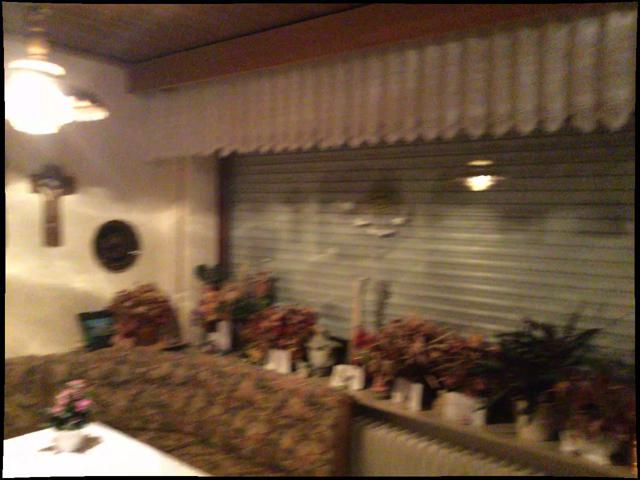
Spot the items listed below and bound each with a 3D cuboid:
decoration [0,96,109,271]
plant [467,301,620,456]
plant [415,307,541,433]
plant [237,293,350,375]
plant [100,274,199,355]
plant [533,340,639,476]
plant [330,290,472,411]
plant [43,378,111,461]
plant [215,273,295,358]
[{"bbox_3d":[-1.548,-0.260,2.680,0.140,0.801,1.129,5,5,42],"label":"decoration"},{"bbox_3d":[0.829,0.480,2.150,0.410,0.420,0.350,5,5,42],"label":"plant"},{"bbox_3d":[0.639,0.501,2.340,0.360,0.370,0.340,5,5,42],"label":"plant"},{"bbox_3d":[-0.140,0.460,2.960,0.480,0.290,0.330,5,5,42],"label":"plant"},{"bbox_3d":[-0.959,0.400,3.260,0.320,0.360,0.430,5,5,42],"label":"plant"},{"bbox_3d":[0.989,0.561,2.010,0.350,0.310,0.340,5,5,42],"label":"plant"},{"bbox_3d":[0.350,0.450,2.510,0.470,0.380,0.370,5,5,42],"label":"plant"},{"bbox_3d":[-0.879,0.641,2.090,0.190,0.210,0.160,5,5,42],"label":"plant"},{"bbox_3d":[-0.360,0.400,3.180,0.320,0.390,0.290,5,5,42],"label":"plant"}]
